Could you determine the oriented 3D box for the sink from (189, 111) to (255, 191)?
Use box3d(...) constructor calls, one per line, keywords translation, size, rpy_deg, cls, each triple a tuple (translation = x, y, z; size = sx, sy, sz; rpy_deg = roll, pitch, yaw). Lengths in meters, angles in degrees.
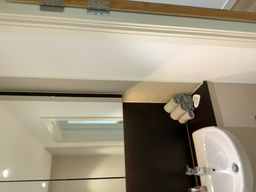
box3d(translation=(0.580, 0.430, 1.260), size=(0.440, 0.170, 0.550), rpy_deg=(111, 159, -62), cls="sink")
